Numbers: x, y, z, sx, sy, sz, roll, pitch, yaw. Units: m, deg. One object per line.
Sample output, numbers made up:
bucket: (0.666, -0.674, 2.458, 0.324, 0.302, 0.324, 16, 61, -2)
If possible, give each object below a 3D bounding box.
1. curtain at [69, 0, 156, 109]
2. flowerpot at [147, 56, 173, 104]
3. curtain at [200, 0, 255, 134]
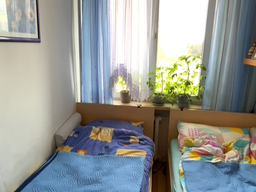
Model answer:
curtain: (-0.170, -0.730, 2.390, 0.920, 1.720, 0.230, 2, 13, 3)
flowerpot: (0.380, -0.200, 2.590, 0.260, 0.560, 0.150, 2, 13, 1)
curtain: (1.180, -0.560, 2.260, 0.550, 1.940, 0.190, 3, 13, 5)
